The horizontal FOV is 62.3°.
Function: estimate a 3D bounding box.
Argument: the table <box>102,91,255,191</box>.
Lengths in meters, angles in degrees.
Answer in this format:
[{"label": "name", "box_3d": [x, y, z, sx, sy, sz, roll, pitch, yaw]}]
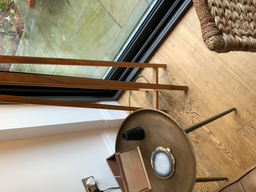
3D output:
[{"label": "table", "box_3d": [0.270, 0.260, 1.080, 0.390, 0.580, 0.400, -51, 59, 30]}]
